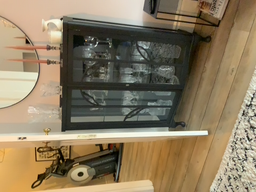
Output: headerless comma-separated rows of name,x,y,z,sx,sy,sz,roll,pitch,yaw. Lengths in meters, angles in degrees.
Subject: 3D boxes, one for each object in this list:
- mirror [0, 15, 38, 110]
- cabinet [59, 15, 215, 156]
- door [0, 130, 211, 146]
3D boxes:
mirror,-1.150,-0.240,1.690,0.030,0.770,0.800,-121,36,-59
cabinet,0.010,-0.050,1.890,0.350,1.170,1.090,-121,36,-59
door,-0.390,0.370,1.830,0.790,2.020,0.050,145,124,-69
